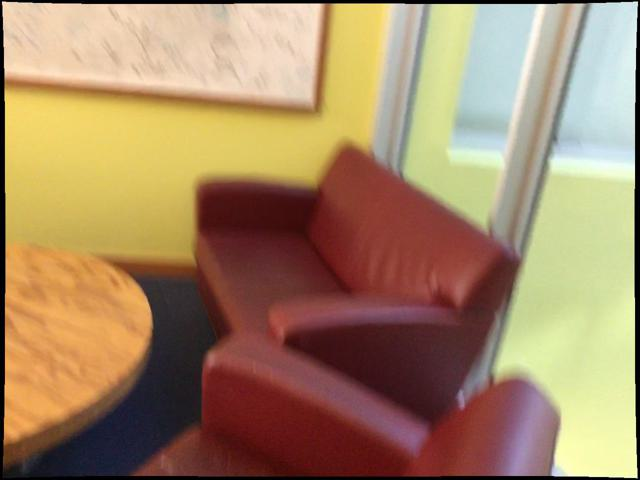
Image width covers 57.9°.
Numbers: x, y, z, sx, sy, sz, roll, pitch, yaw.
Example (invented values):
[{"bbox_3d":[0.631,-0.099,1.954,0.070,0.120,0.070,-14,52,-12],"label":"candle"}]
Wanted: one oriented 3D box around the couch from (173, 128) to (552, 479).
[{"bbox_3d":[0.000,0.110,2.380,0.969,0.741,1.390,-5,28,-21],"label":"couch"}]
